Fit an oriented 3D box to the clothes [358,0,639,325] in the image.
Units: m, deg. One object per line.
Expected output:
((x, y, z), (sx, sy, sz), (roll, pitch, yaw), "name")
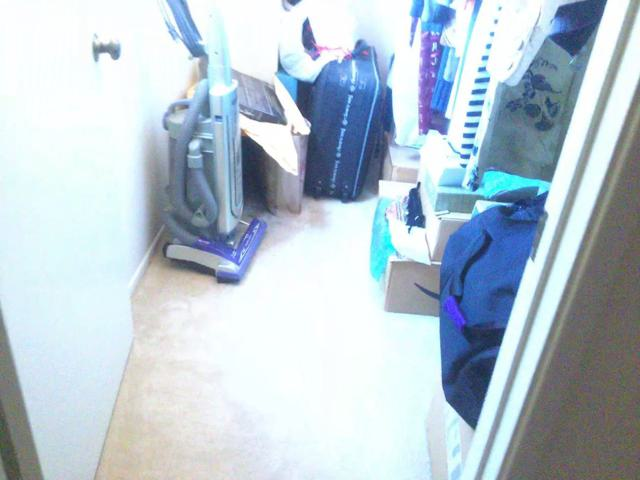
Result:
((0.460, -0.670, 1.650), (0.450, 1.190, 1.390), (3, 29, -4), "clothes")

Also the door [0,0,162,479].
((-0.500, -0.050, 1.160), (0.120, 1.270, 0.830), (3, 29, -4), "door")
